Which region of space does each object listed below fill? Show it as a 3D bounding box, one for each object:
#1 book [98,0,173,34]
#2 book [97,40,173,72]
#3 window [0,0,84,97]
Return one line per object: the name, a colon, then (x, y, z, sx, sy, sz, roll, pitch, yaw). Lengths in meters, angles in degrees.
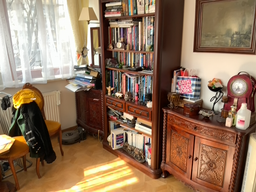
book: (0.050, -0.880, 2.370, 0.280, 0.350, 0.870, -15, 22, -42)
book: (0.040, -0.500, 2.490, 0.300, 0.280, 0.940, -15, 22, -42)
window: (-1.410, -0.850, 2.550, 1.800, 1.630, 0.250, -15, 22, -42)
